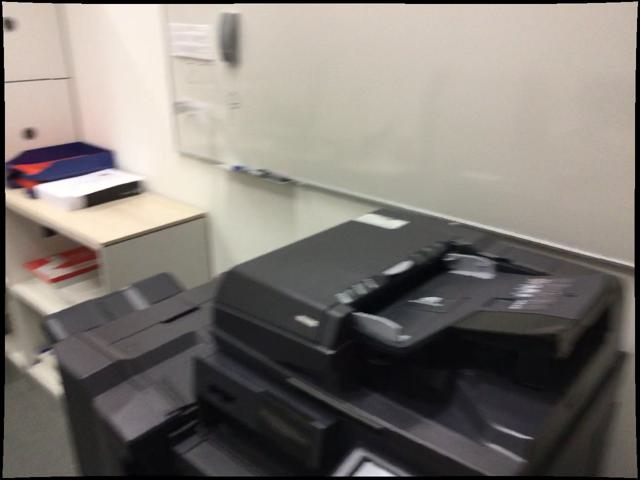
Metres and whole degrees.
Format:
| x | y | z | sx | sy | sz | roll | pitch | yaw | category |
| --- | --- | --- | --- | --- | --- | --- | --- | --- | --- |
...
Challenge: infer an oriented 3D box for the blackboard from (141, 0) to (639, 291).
| x | y | z | sx | sy | sz | roll | pitch | yaw | category |
| --- | --- | --- | --- | --- | --- | --- | --- | --- | --- |
| 0.270 | -0.541 | 1.220 | 2.049 | 1.101 | 0.060 | 18 | 29 | 34 | blackboard |

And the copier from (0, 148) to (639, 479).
| x | y | z | sx | sy | sz | roll | pitch | yaw | category |
| --- | --- | --- | --- | --- | --- | --- | --- | --- | --- |
| -0.050 | 0.531 | 1.270 | 1.119 | 1.161 | 0.730 | 18 | 29 | 34 | copier |
